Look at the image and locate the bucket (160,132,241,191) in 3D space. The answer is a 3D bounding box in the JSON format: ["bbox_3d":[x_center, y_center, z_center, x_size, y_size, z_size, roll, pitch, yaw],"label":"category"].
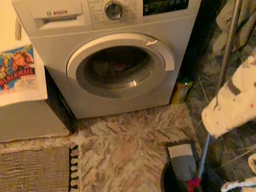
[{"bbox_3d":[0.340,0.460,0.980,0.220,0.320,0.460,-12,62,-5],"label":"bucket"}]

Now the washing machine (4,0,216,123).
[{"bbox_3d":[-0.060,-0.330,1.080,0.590,0.860,0.580,-7,61,-3],"label":"washing machine"}]
